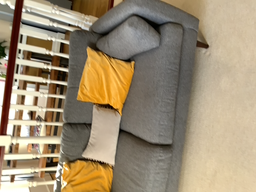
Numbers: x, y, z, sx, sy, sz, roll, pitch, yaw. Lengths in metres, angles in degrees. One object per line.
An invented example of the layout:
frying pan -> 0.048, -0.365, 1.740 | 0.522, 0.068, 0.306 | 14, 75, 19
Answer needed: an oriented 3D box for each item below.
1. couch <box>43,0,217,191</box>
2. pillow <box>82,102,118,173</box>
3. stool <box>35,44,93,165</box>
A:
couch -> -0.080, 0.270, 1.730 | 0.970, 0.830, 1.910 | 7, 89, 59
pillow -> -0.220, 0.320, 1.760 | 0.300, 0.140, 0.520 | 5, -88, -78
stool -> -0.850, 0.120, 2.780 | 0.300, 0.460, 1.460 | 14, 95, 59
